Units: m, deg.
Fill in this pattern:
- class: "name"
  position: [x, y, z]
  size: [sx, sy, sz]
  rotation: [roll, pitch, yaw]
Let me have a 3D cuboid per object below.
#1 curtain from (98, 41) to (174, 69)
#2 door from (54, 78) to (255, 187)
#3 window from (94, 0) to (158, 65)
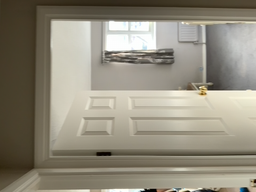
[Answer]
- class: "curtain"
  position: [0.160, -0.810, 4.230]
  size: [0.180, 1.490, 0.490]
  rotation: [-141, 52, -87]
- class: "door"
  position: [0.640, 0.160, 1.480]
  size: [0.980, 2.000, 0.130]
  rotation: [-93, 4, -60]
- class: "window"
  position: [-0.040, -1.650, 4.500]
  size: [0.360, 1.280, 1.910]
  rotation: [134, 137, -87]
